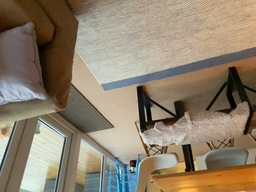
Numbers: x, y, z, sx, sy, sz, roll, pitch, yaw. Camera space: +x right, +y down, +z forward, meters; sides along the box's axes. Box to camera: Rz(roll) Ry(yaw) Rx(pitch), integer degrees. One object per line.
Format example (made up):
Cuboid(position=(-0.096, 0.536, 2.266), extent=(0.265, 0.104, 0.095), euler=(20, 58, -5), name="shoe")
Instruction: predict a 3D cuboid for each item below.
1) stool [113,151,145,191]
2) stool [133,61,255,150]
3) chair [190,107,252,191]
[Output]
Cuboid(position=(0.030, 1.460, 3.410), extent=(0.390, 1.000, 0.430), euler=(-12, 144, 15), name="stool")
Cuboid(position=(0.550, 0.120, 1.950), extent=(0.890, 0.480, 0.500), euler=(-11, 144, 13), name="stool")
Cuboid(position=(1.010, 0.630, 2.430), extent=(0.410, 0.800, 0.500), euler=(-10, 144, 12), name="chair")
